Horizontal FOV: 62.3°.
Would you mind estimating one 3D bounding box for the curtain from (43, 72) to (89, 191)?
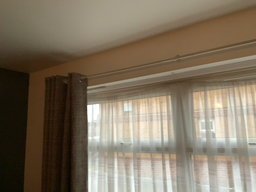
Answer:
[{"bbox_3d":[-0.530,0.890,1.780,0.410,2.150,0.150,-8,-12,34],"label":"curtain"}]
